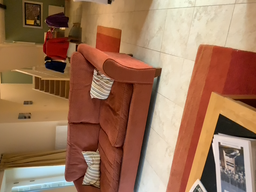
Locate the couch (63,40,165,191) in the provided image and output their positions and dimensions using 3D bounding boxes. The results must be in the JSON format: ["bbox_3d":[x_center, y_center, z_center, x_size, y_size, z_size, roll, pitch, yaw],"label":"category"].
[{"bbox_3d":[-0.330,0.510,2.900,0.900,0.880,2.280,-136,50,-59],"label":"couch"}]
